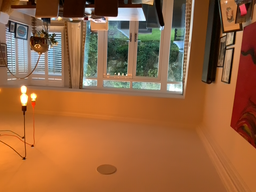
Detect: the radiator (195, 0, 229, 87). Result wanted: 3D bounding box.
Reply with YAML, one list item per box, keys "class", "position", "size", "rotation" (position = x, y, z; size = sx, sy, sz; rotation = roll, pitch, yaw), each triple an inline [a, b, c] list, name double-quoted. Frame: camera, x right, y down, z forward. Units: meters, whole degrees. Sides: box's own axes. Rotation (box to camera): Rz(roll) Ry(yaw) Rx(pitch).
- class: "radiator"
  position: [1.240, -1.110, 3.110]
  size: [0.240, 1.890, 0.560]
  rotation: [4, -171, 8]
